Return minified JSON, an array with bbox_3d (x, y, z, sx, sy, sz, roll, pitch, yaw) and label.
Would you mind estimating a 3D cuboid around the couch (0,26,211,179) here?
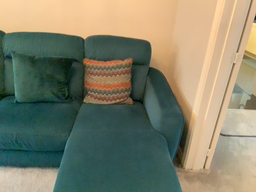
[{"bbox_3d":[-1.000,-0.040,1.860,2.920,0.920,1.030,3,26,-5],"label":"couch"}]
